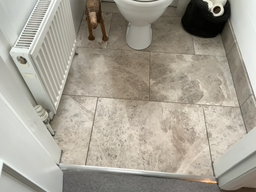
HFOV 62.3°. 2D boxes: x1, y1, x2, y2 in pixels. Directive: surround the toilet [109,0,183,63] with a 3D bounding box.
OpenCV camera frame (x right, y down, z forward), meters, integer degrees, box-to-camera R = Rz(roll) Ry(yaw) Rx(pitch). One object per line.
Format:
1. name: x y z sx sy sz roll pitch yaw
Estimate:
1. toilet: 0.100 -0.720 1.270 0.360 0.770 0.660 3 56 -1
